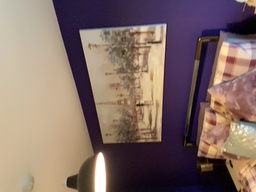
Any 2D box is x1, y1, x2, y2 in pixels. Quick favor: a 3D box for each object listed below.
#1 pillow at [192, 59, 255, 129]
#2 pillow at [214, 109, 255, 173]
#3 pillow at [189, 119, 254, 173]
[{"bbox_3d":[0.800,0.000,1.670,0.430,0.350,0.180,34,-155,-26],"label":"pillow"},{"bbox_3d":[0.930,0.360,1.670,0.420,0.350,0.170,60,-165,-30],"label":"pillow"},{"bbox_3d":[0.890,0.490,2.030,0.410,0.400,0.170,41,-157,-27],"label":"pillow"}]
